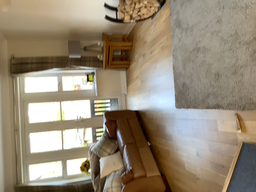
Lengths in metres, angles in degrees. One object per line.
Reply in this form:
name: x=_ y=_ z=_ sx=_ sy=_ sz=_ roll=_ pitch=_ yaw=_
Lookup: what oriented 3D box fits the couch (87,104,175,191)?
couch: x=-0.110 y=1.040 z=3.240 sx=1.580 sy=0.830 sz=0.980 roll=-112 pitch=24 yaw=-48
